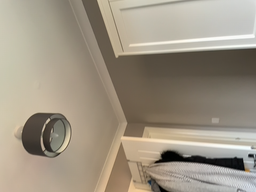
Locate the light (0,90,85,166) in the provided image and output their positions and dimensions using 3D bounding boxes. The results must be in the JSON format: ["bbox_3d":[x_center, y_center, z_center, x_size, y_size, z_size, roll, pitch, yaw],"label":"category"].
[{"bbox_3d":[-0.590,0.220,1.480,0.370,0.360,0.360,2,143,18],"label":"light"}]

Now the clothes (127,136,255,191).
[{"bbox_3d":[0.750,0.780,1.800,1.320,0.320,0.850,1,133,20],"label":"clothes"}]
